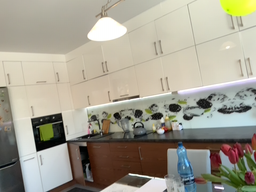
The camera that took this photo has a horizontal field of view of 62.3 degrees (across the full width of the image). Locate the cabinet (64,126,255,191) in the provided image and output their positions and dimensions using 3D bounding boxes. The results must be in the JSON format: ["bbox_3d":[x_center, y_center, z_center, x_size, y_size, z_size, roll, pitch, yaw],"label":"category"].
[{"bbox_3d":[0.740,0.930,2.800,4.730,0.870,0.590,-11,-1,42],"label":"cabinet"}]

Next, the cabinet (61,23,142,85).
[{"bbox_3d":[-0.580,-0.680,3.900,1.760,0.650,0.330,-11,-1,42],"label":"cabinet"}]
